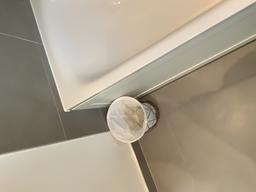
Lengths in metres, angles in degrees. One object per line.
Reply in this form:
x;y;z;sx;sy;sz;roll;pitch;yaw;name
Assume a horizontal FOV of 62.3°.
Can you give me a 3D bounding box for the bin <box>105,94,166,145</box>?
0.050;0.130;1.250;0.200;0.260;0.220;-27;77;26;bin
